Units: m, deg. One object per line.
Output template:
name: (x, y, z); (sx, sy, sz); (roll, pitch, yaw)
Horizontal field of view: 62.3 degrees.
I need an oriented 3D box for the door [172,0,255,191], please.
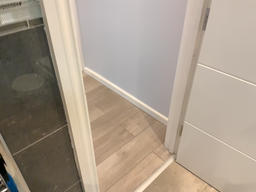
door: (0.590, -0.200, 0.720); (0.690, 1.980, 0.030); (32, 47, 33)
